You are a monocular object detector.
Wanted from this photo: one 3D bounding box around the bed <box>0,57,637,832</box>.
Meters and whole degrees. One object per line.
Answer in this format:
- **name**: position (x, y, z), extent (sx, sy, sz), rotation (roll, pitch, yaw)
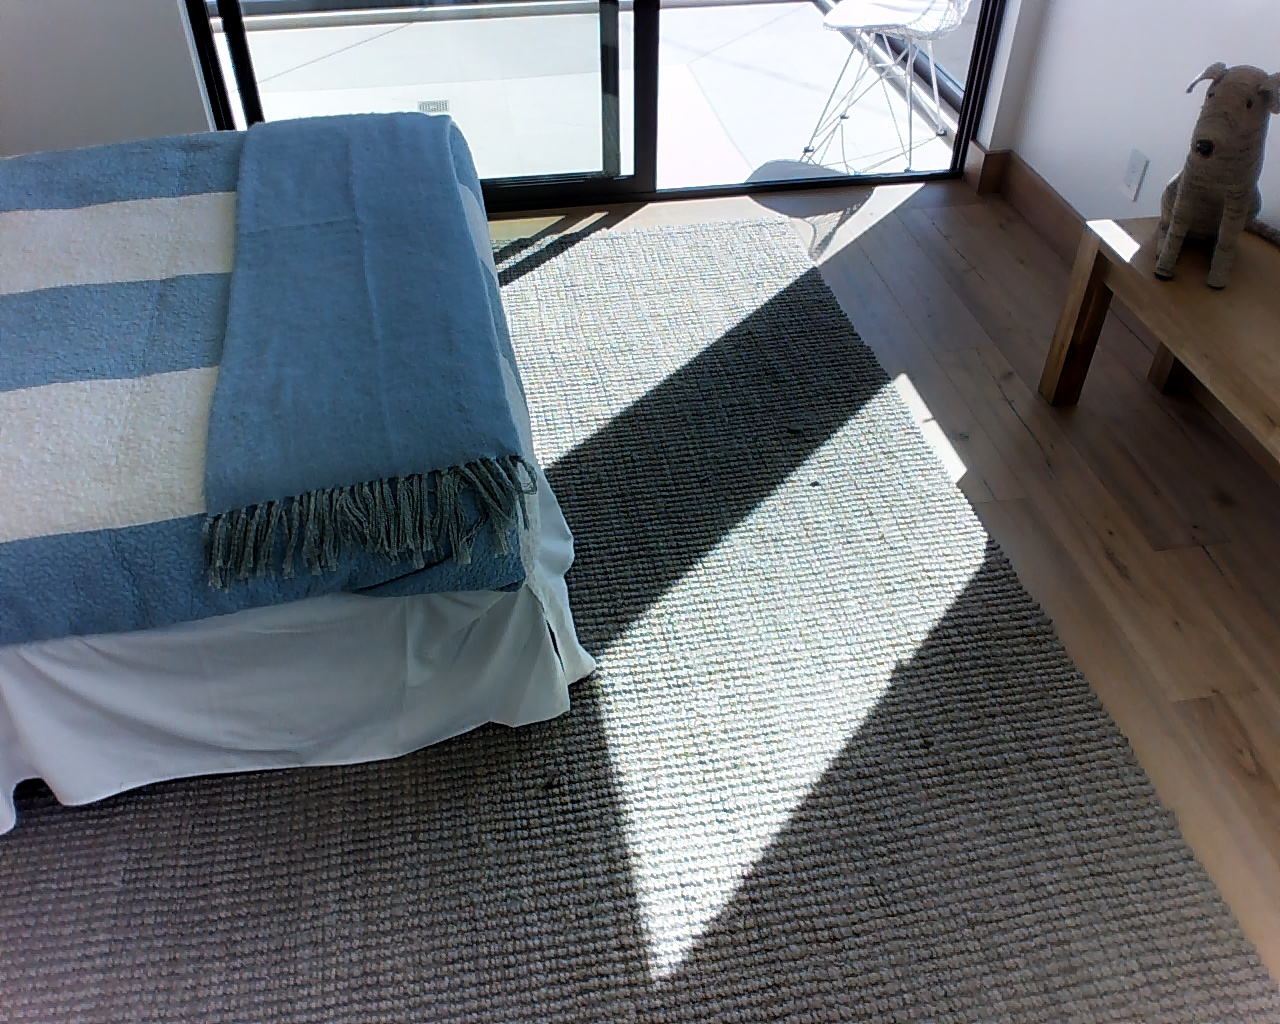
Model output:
- **bed**: position (-1.200, -0.220, 2.120), extent (2.160, 0.680, 1.520), rotation (-7, 42, -7)
